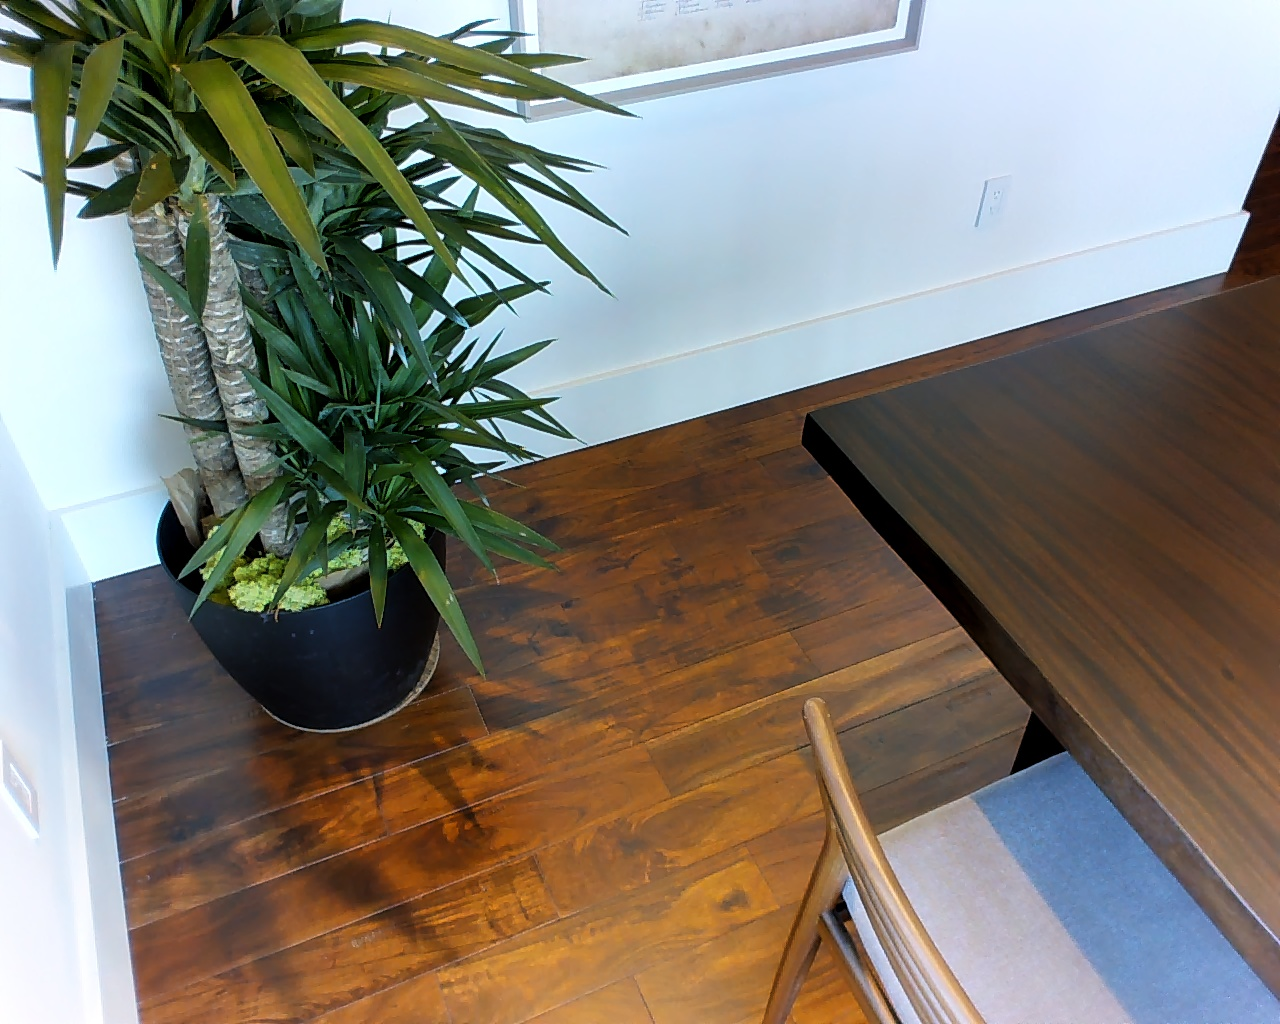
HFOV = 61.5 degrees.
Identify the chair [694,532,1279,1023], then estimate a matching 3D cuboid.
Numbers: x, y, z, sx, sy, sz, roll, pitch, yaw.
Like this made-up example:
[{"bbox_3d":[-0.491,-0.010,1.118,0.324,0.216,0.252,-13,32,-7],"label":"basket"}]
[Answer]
[{"bbox_3d":[0.430,0.540,1.150,0.500,0.710,0.610,-16,45,-17],"label":"chair"}]
